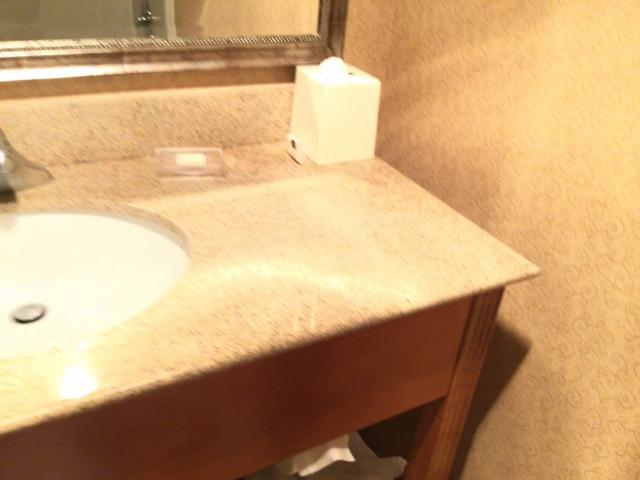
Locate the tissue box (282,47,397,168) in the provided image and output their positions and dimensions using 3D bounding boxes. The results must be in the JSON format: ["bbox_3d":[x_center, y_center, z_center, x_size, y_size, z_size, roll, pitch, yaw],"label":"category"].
[{"bbox_3d":[0.030,-0.250,1.070,0.140,0.170,0.150,-12,35,-27],"label":"tissue box"}]
